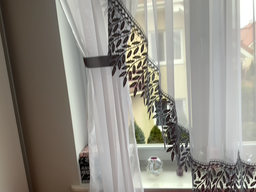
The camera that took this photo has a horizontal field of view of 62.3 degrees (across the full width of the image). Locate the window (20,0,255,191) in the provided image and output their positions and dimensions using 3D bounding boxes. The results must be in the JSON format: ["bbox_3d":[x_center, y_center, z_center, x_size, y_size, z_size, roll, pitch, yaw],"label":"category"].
[{"bbox_3d":[0.410,-0.380,0.770,1.550,1.630,0.270,-3,10,7],"label":"window"}]
